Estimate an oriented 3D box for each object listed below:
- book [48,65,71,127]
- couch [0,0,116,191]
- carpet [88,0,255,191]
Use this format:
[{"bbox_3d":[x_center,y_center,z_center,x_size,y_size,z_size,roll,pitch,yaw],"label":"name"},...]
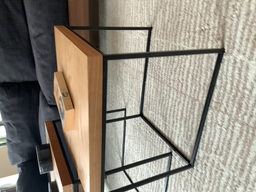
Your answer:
[{"bbox_3d":[-0.230,0.000,0.700,0.160,0.040,0.120,65,149,30],"label":"book"},{"bbox_3d":[-0.640,-0.090,1.610,0.900,0.750,2.030,40,132,54],"label":"couch"},{"bbox_3d":[0.130,0.170,0.930,1.800,0.030,2.520,35,128,56],"label":"carpet"}]
